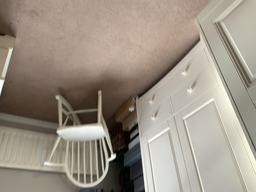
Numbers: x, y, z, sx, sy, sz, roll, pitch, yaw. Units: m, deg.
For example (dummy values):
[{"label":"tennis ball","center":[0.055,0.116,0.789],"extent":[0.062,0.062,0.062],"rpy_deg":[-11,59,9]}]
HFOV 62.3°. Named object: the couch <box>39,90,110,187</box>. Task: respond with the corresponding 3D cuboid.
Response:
[{"label":"couch","center":[-0.460,0.410,2.050],"extent":[0.500,0.720,0.540],"rpy_deg":[-4,144,-4]}]
